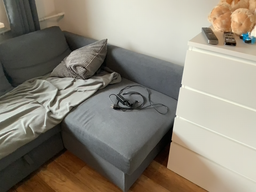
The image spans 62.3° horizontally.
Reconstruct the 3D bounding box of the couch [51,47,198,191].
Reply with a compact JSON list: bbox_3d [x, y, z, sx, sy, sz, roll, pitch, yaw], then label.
[{"bbox_3d":[0.020,0.120,1.670,0.630,0.650,0.880,23,39,29],"label":"couch"}]

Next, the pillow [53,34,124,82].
[{"bbox_3d":[-0.340,-0.370,1.940,0.540,0.220,0.310,-26,42,-34],"label":"pillow"}]
